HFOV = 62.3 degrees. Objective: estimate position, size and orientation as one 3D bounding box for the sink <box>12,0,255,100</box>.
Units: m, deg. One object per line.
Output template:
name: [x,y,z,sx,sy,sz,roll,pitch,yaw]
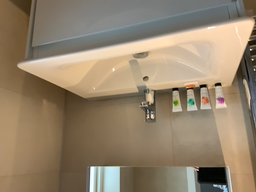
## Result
sink: [0.030,-0.130,0.750,0.630,0.130,0.450,-6,164,17]
